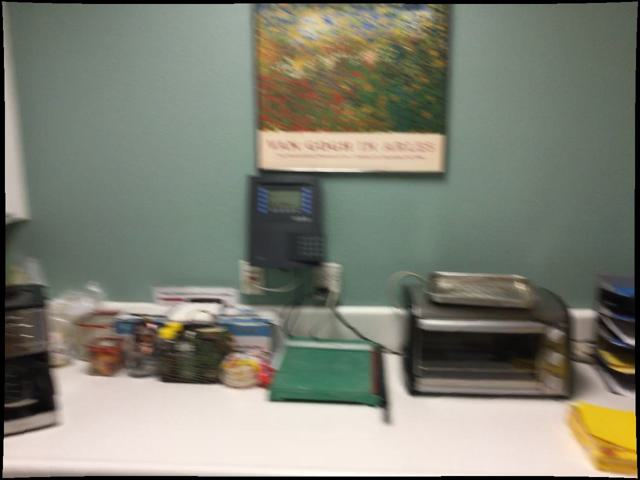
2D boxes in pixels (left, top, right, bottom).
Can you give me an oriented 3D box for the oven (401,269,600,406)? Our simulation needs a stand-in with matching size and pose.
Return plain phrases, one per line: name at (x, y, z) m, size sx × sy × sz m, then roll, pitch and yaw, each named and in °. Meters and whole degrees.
oven at (0.499, 0.270, 1.720) m, size 0.480 × 0.270 × 0.360 m, roll 2°, pitch 11°, yaw 4°
